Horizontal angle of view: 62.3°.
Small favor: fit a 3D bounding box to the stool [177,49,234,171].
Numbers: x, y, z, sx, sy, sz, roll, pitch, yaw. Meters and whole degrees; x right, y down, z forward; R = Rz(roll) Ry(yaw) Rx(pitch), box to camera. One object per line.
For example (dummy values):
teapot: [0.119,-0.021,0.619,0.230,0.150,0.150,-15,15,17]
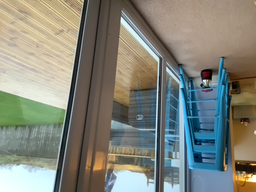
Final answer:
stool: [0.750,0.160,2.060,0.420,1.030,0.500,-5,162,28]
